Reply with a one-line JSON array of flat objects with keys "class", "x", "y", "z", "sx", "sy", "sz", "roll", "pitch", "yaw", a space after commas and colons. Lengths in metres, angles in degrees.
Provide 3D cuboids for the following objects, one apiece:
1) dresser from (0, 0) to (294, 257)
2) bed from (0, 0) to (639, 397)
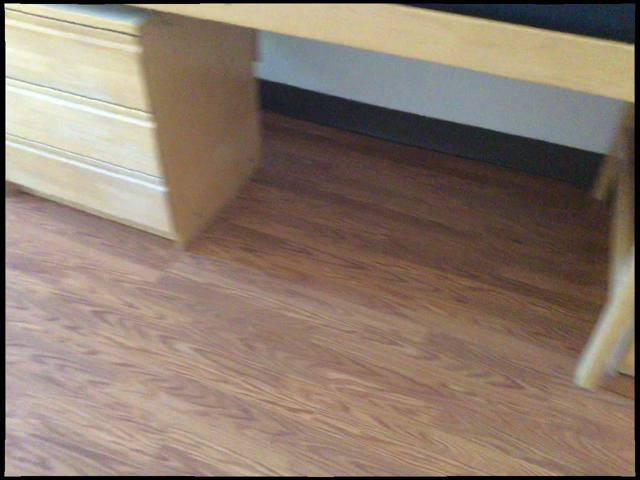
[{"class": "dresser", "x": -0.639, "y": -0.571, "z": 2.060, "sx": 0.829, "sy": 0.771, "sz": 0.750, "roll": 17, "pitch": 44, "yaw": 17}, {"class": "bed", "x": -0.010, "y": -0.621, "z": 1.890, "sx": 2.197, "sy": 1.081, "sz": 1.110, "roll": 17, "pitch": 44, "yaw": 17}]
